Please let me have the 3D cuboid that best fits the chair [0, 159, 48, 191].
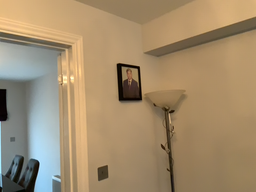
[{"bbox_3d":[-1.490,1.360,2.750,0.470,0.890,0.710,-8,-6,42],"label":"chair"}]
